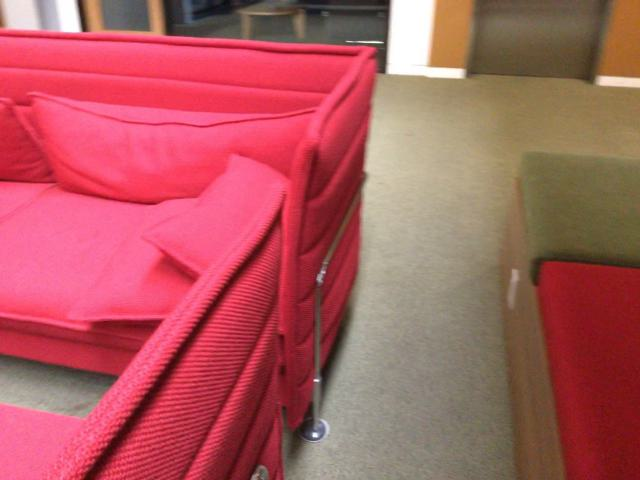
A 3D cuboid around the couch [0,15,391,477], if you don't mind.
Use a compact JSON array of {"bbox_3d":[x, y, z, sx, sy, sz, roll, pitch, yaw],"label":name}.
[{"bbox_3d":[-1.110,-0.190,1.880,2.490,0.880,0.980,8,29,11],"label":"couch"}]
